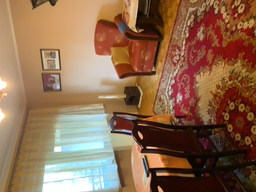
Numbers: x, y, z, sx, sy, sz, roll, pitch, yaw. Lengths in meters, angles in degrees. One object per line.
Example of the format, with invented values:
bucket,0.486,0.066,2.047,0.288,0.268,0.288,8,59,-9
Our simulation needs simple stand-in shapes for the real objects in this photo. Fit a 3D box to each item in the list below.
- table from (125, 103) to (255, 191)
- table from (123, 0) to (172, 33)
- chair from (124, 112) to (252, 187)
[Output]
table,0.620,1.110,1.890,2.030,0.770,1.060,-110,24,-52
table,0.290,-1.510,3.500,0.760,0.540,0.660,-110,23,-52
chair,0.500,0.460,1.930,0.380,0.970,0.450,-111,24,-53
